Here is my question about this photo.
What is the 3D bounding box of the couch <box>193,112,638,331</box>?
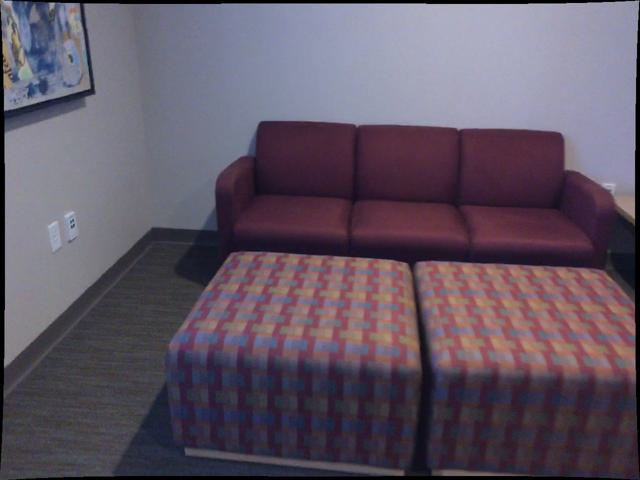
[{"bbox_3d":[0.399,-0.140,2.940,1.867,0.791,0.770,3,23,3],"label":"couch"}]
